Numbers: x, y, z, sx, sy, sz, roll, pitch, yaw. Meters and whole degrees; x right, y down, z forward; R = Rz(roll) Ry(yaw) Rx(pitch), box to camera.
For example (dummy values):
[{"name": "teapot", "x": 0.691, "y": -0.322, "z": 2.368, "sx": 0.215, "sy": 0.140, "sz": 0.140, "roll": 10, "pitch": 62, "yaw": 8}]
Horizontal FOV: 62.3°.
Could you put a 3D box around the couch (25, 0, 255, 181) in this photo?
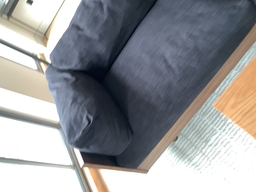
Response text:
[{"name": "couch", "x": 0.330, "y": -0.600, "z": 1.160, "sx": 1.990, "sy": 0.750, "sz": 0.830, "roll": -55, "pitch": 44, "yaw": 11}]
